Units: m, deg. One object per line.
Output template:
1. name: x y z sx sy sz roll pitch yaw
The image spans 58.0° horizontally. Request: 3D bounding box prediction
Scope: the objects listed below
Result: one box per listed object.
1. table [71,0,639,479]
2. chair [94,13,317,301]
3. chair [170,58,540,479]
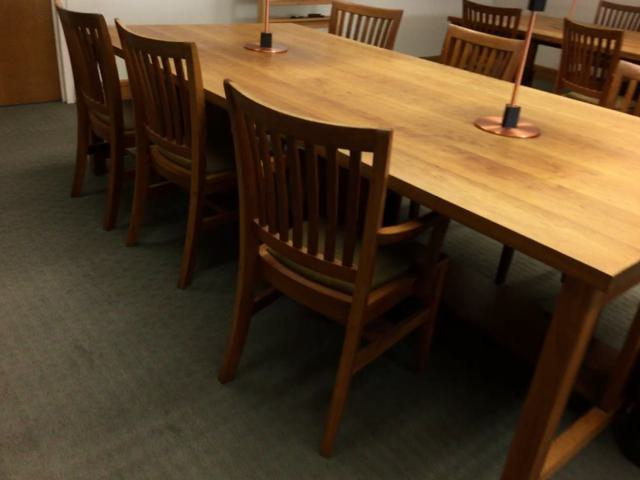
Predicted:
1. table: 0.200 -0.390 2.510 1.590 0.980 2.810 -16 32 -32
2. chair: -0.460 -0.370 2.320 0.580 0.910 0.630 -16 36 -32
3. chair: 0.060 0.010 1.690 0.710 0.900 0.640 -16 32 -32
